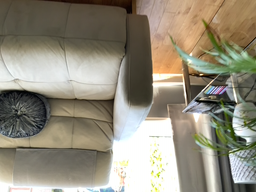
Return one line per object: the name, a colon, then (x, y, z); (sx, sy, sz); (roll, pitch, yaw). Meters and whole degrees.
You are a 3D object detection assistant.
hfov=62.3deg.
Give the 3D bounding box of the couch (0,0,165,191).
couch: (-0.840, 0.020, 1.280); (1.830, 1.020, 0.990); (3, 157, -7)
